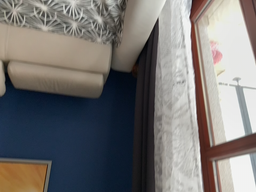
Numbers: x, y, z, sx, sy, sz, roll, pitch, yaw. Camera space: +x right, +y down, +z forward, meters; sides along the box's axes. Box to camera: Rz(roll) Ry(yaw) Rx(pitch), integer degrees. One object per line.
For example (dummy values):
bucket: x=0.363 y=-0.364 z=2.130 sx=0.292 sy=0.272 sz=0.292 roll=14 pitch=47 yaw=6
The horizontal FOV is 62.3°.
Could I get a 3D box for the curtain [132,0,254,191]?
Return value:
curtain: x=0.270 y=0.360 z=1.060 sx=0.330 sy=2.490 sz=0.490 roll=11 pitch=154 yaw=-20
